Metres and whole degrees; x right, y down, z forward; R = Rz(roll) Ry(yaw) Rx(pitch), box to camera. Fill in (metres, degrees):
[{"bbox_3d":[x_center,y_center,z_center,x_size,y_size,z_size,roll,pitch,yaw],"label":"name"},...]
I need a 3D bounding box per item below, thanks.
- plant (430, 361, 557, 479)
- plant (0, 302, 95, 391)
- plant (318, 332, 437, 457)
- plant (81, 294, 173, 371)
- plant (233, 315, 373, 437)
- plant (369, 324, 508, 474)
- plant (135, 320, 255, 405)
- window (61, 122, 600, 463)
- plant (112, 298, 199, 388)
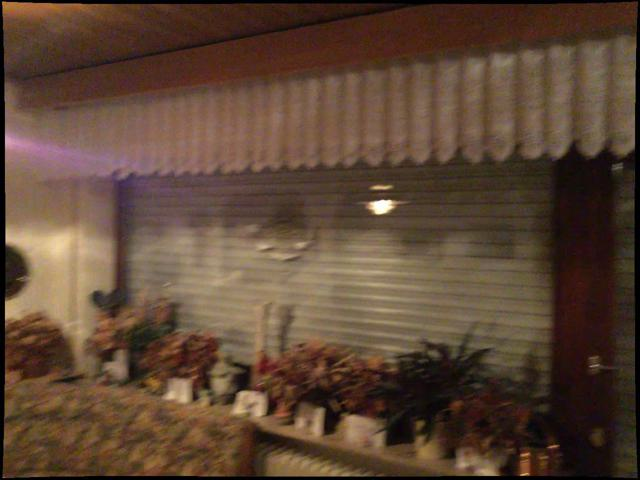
[{"bbox_3d":[0.639,0.651,2.110,0.350,0.310,0.340,3,1,33],"label":"plant"},{"bbox_3d":[-1.479,0.541,3.050,0.320,0.360,0.430,3,1,33],"label":"plant"},{"bbox_3d":[0.240,0.611,2.380,0.360,0.370,0.340,3,1,33],"label":"plant"},{"bbox_3d":[-1.069,0.501,3.210,0.350,0.340,0.330,3,1,33],"label":"plant"},{"bbox_3d":[-0.070,0.561,2.510,0.470,0.380,0.370,3,1,33],"label":"plant"},{"bbox_3d":[0.460,0.581,2.230,0.410,0.420,0.350,3,1,33],"label":"plant"},{"bbox_3d":[-0.619,0.591,2.870,0.480,0.290,0.330,3,1,33],"label":"plant"},{"bbox_3d":[-0.200,0.110,2.670,2.608,1.041,0.460,3,1,33],"label":"window"},{"bbox_3d":[-0.869,0.531,3.060,0.320,0.390,0.290,3,1,33],"label":"plant"}]
